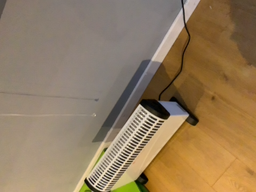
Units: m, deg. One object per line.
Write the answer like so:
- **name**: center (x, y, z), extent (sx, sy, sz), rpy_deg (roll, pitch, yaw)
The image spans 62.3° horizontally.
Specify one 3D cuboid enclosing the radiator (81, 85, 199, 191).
- **radiator**: center (0.070, 0.240, 1.100), extent (0.140, 0.390, 0.580), rpy_deg (44, 111, 31)
